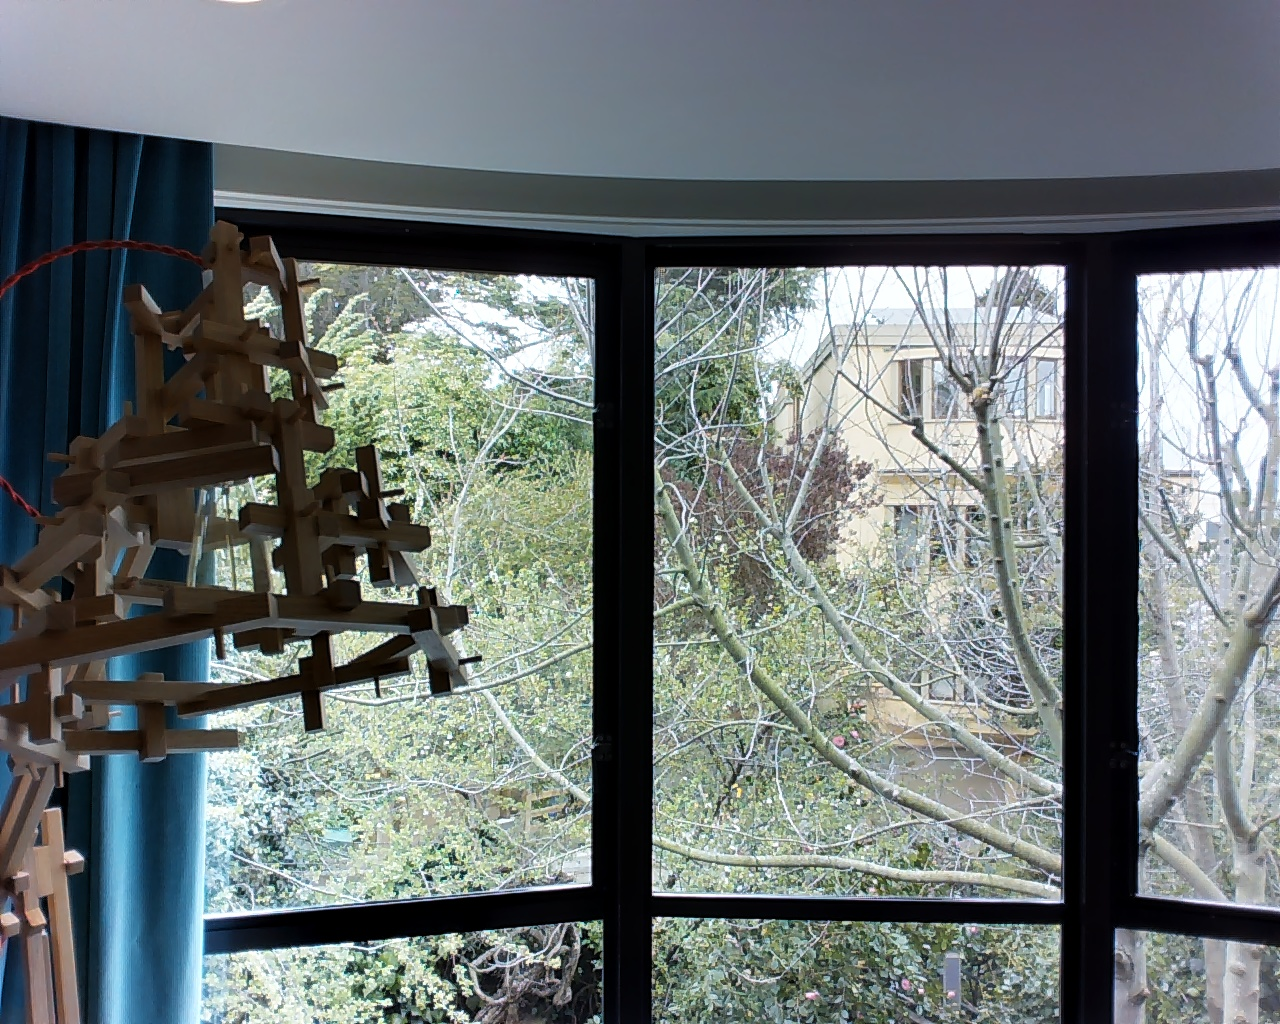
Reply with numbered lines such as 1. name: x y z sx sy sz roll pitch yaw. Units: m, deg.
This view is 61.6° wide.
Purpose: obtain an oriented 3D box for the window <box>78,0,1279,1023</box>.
1. window: 0.510 0.360 1.910 2.750 2.330 0.620 0 0 3
